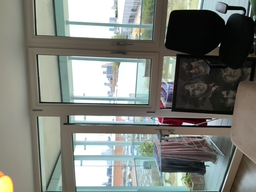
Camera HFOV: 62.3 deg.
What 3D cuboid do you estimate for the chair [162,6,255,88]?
[{"bbox_3d":[0.930,-0.500,2.090,0.630,1.010,0.620,-96,9,-62],"label":"chair"}]
